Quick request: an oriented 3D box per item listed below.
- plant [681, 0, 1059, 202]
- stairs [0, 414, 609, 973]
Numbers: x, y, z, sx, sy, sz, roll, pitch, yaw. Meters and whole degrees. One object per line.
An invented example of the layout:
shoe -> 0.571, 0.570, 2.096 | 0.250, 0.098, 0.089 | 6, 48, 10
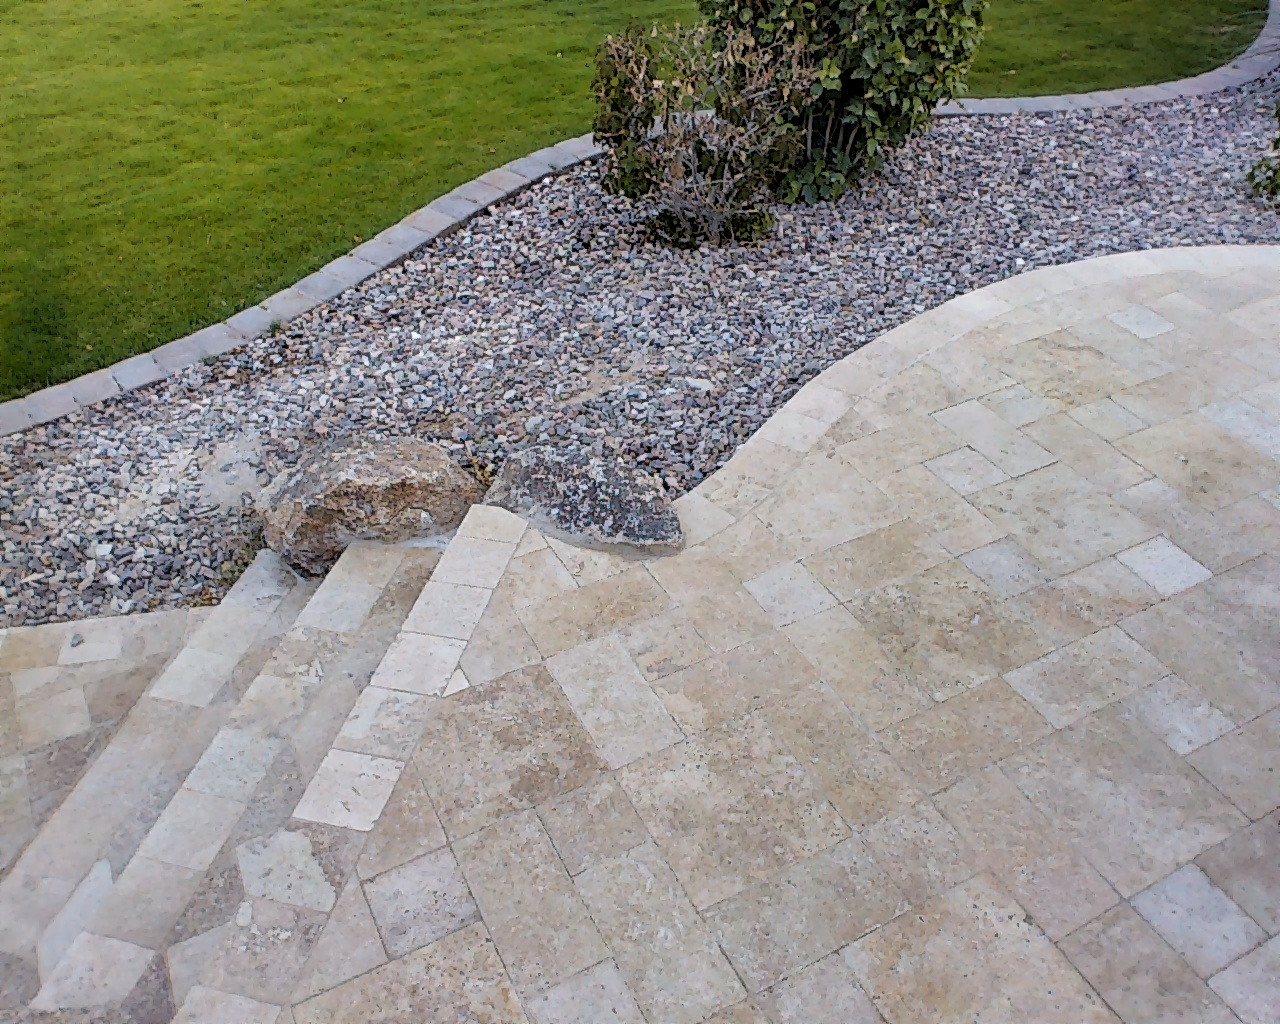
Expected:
plant -> 0.820, -1.959, 4.210 | 1.251, 1.070, 1.020 | 1, 41, 0
stairs -> -0.740, 0.320, 2.310 | 1.130, 0.460, 0.860 | 12, 42, 12
